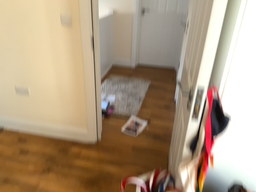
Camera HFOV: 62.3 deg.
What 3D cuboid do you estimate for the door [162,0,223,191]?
[{"bbox_3d":[0.350,-0.140,1.250,0.050,2.040,0.920,8,28,10],"label":"door"}]
